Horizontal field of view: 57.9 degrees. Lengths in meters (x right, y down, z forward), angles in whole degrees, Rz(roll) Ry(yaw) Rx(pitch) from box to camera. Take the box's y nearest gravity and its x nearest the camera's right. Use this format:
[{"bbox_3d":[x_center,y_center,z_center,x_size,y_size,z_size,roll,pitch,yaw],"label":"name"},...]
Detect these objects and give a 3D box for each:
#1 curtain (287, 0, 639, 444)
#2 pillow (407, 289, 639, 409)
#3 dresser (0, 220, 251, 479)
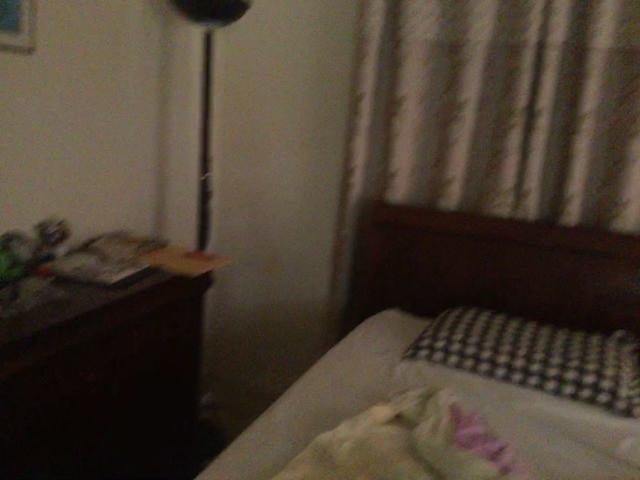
[{"bbox_3d":[0.660,-0.250,2.220,1.520,1.740,0.320,9,14,22],"label":"curtain"},{"bbox_3d":[0.690,0.330,1.900,0.700,0.110,0.440,9,14,22],"label":"pillow"},{"bbox_3d":[-0.860,0.560,1.610,0.510,0.930,1.690,9,14,23],"label":"dresser"}]
